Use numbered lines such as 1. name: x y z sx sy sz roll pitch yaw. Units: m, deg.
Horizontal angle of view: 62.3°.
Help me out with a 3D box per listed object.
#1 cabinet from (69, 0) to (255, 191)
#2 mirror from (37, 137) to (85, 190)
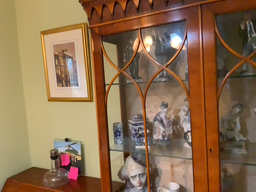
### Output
1. cabinet: 0.360 0.520 0.910 1.010 1.960 0.410 -2 5 27
2. mirror: -0.450 0.440 1.420 0.270 0.280 0.130 -2 5 27
